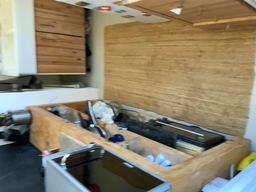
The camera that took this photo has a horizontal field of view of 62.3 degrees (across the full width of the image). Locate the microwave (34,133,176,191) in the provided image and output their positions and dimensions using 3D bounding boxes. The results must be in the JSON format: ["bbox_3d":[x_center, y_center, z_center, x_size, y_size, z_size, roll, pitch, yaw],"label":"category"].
[{"bbox_3d":[-0.130,0.410,0.850,0.530,0.290,0.340,12,103,46],"label":"microwave"}]
